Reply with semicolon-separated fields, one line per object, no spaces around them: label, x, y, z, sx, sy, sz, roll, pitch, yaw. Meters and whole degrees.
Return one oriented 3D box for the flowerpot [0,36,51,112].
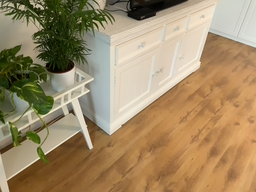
flowerpot;-0.660;-0.140;1.170;0.410;0.200;0.230;33;47;30

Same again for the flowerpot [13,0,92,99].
flowerpot;-0.420;-0.330;1.190;0.180;0.530;0.430;-30;51;-35
